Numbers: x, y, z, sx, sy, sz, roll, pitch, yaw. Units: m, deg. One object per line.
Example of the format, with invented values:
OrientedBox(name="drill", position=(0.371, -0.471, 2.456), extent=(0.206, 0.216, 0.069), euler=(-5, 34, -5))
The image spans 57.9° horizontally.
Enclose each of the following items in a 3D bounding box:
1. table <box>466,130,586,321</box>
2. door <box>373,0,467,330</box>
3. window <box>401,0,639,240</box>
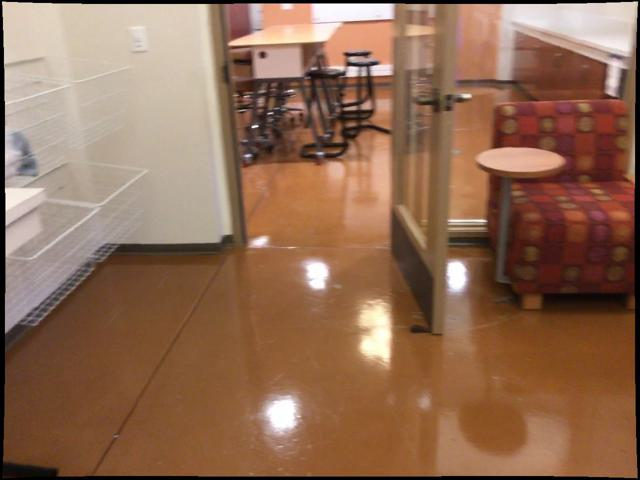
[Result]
OrientedBox(name="table", position=(0.819, -0.060, 2.390), extent=(0.340, 0.701, 0.350), euler=(0, 25, 7))
OrientedBox(name="door", position=(0.380, -0.561, 2.450), extent=(0.130, 1.581, 0.980), euler=(-5, 24, -3))
OrientedBox(name="window", position=(0.999, -1.021, 2.660), extent=(1.219, 2.102, 0.290), euler=(-1, 25, 6))
